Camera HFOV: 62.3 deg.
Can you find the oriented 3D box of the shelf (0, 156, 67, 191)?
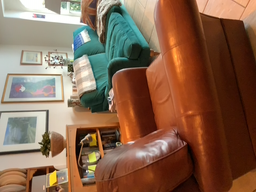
[{"bbox_3d":[-1.080,0.930,1.920,0.590,1.000,0.270,-113,30,-46],"label":"shelf"}]
